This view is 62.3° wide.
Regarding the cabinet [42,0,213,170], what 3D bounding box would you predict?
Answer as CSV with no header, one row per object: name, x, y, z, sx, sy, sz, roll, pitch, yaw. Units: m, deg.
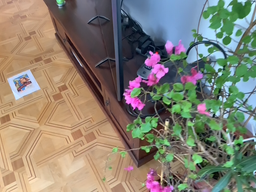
cabinet,-0.170,-0.330,1.730,0.480,0.450,1.710,-25,54,-18
